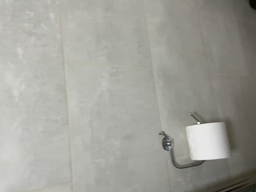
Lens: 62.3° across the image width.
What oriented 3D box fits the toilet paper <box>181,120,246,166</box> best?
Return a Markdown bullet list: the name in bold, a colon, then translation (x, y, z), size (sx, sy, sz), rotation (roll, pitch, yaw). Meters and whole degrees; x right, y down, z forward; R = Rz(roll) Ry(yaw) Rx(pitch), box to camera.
- **toilet paper**: translation (0.280, 0.150, 0.700), size (0.110, 0.160, 0.120), rotation (-19, 75, 56)
